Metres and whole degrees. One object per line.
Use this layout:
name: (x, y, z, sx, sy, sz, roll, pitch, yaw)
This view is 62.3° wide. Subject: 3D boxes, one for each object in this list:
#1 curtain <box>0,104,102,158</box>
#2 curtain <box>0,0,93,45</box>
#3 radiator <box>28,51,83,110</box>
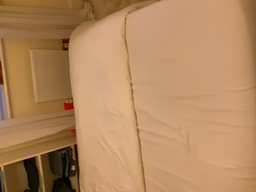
curtain: (-1.180, 0.370, 1.690, 0.190, 2.250, 0.280, 3, 99, 46)
curtain: (-1.230, -0.620, 1.620, 0.200, 2.140, 0.340, 2, 98, 46)
radiator: (-0.720, -0.170, 2.170, 0.100, 0.470, 0.550, -3, 94, 47)
